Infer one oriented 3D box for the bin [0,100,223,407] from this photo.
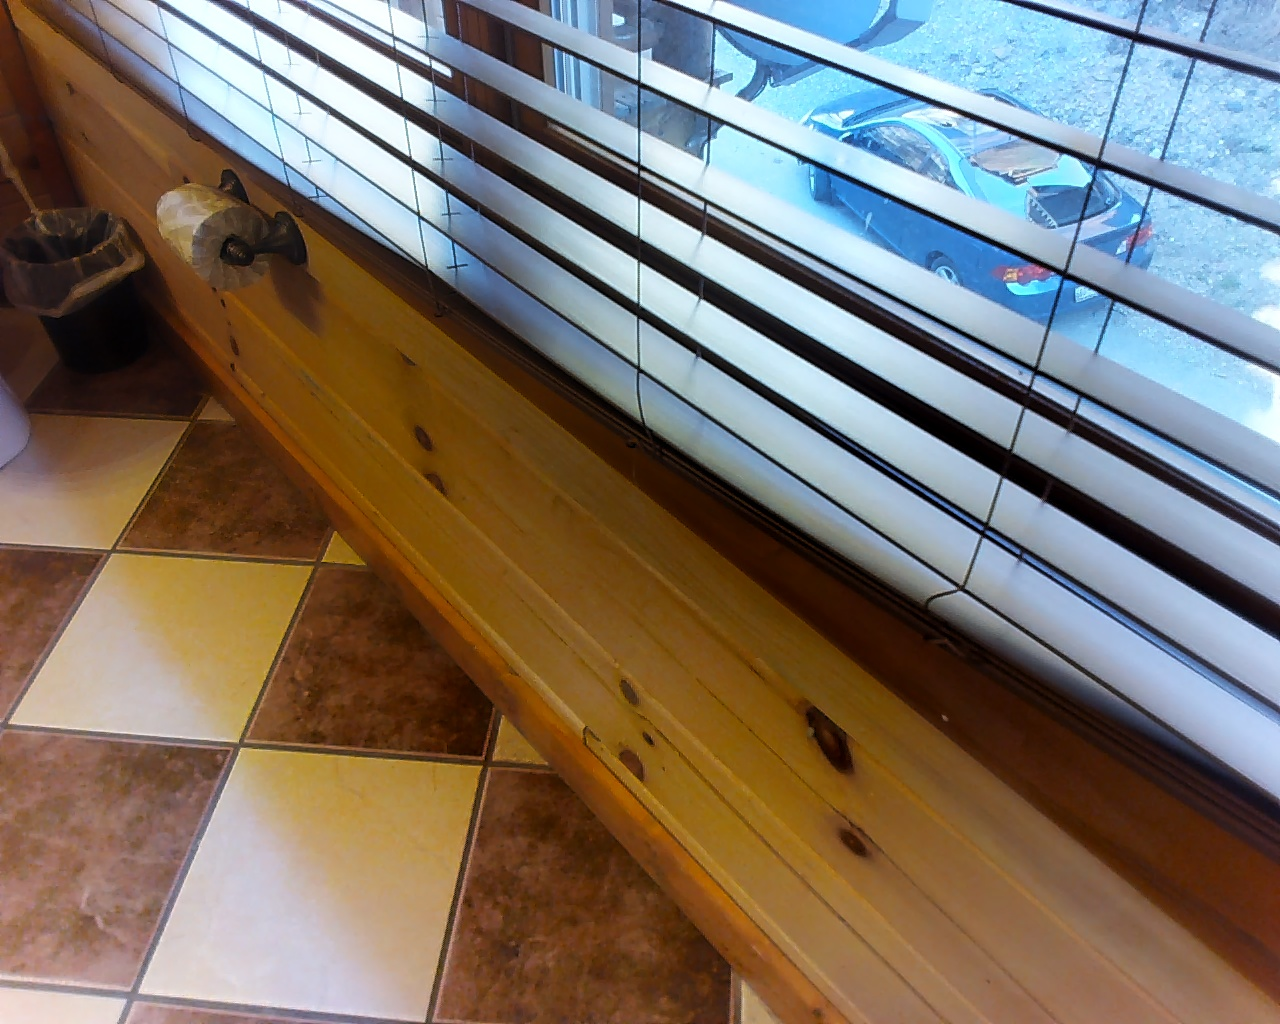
[{"bbox_3d":[-1.030,-0.480,1.980,0.300,0.390,0.310,-29,50,-27],"label":"bin"}]
